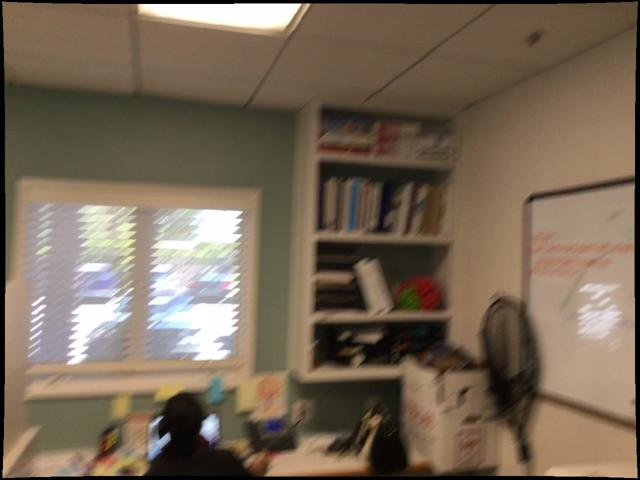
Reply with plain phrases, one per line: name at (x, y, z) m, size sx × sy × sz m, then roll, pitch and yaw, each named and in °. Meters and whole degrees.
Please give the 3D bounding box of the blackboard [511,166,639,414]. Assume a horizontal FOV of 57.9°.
blackboard at (1.129, 0.180, 2.140) m, size 0.060 × 0.871 × 1.290 m, roll 3°, pitch -5°, yaw -17°
